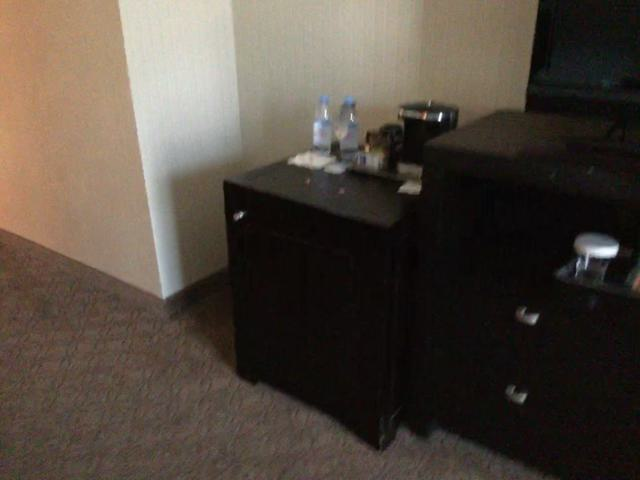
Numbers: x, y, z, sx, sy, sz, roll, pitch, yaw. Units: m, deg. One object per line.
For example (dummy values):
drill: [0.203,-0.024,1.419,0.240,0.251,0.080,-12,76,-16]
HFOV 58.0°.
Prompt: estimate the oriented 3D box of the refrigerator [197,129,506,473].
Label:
refrigerator: [0.120,0.120,2.000,0.720,0.820,0.680,16,29,38]
